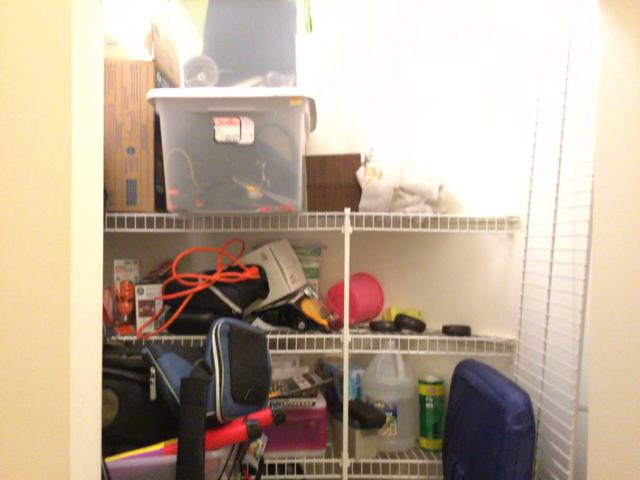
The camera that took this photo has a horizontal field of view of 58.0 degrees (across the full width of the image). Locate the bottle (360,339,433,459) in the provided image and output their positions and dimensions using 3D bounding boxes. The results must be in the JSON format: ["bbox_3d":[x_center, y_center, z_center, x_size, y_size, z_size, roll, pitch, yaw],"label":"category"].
[{"bbox_3d":[0.210,0.440,1.630,0.180,0.290,0.170,0,1,-2],"label":"bottle"}]
